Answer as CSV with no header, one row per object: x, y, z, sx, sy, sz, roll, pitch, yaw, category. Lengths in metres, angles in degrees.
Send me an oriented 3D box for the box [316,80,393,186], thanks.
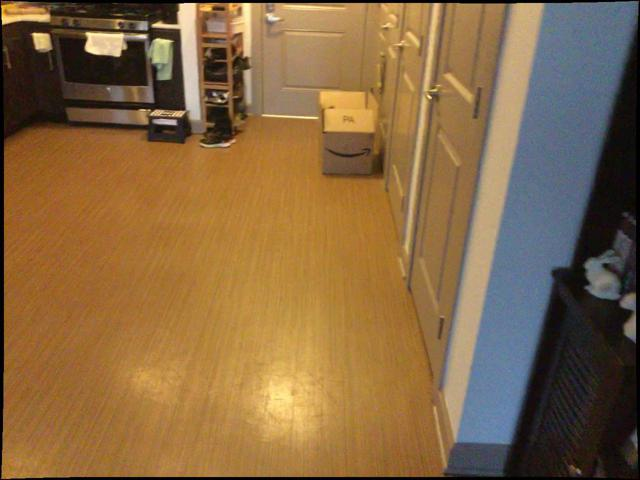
0.209,-0.732,3.870,0.459,0.501,0.660,-1,30,0,box
